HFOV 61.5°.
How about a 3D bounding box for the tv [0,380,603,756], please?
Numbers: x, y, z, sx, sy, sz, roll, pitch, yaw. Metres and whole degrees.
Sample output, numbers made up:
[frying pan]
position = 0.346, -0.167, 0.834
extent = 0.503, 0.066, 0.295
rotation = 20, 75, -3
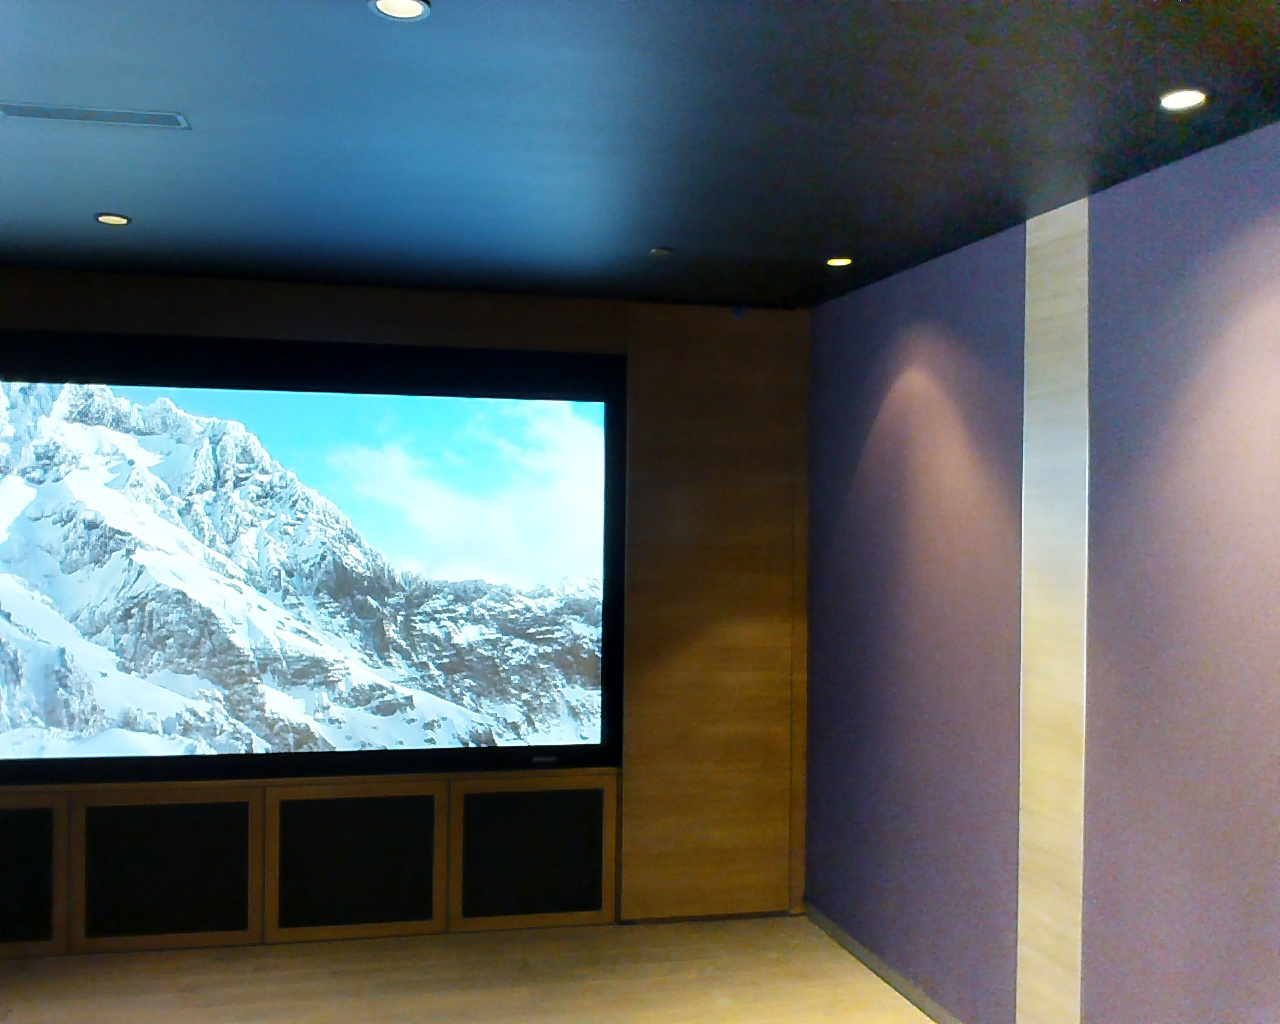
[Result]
[tv]
position = -1.310, 0.220, 4.050
extent = 2.330, 1.340, 0.070
rotation = 1, -1, -10
